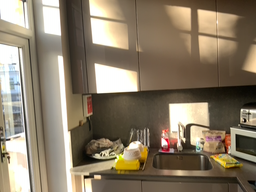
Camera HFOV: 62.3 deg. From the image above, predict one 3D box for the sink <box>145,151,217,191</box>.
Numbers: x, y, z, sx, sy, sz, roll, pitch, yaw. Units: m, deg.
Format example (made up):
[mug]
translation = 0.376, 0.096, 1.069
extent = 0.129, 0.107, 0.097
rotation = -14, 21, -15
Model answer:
[sink]
translation = 0.430, 0.630, 1.800
extent = 0.520, 0.190, 0.410
rotation = -2, 4, 11
